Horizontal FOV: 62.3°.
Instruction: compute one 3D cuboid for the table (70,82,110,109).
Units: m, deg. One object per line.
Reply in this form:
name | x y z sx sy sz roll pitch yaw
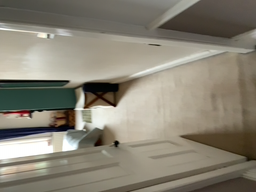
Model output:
table | -0.730 0.000 3.980 0.640 0.570 0.460 -7 85 62
